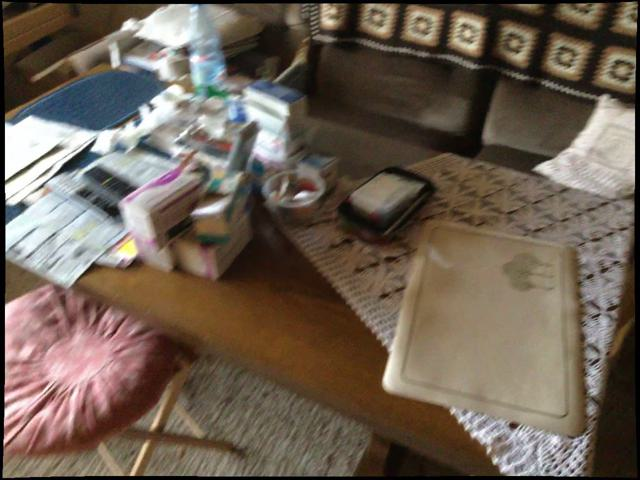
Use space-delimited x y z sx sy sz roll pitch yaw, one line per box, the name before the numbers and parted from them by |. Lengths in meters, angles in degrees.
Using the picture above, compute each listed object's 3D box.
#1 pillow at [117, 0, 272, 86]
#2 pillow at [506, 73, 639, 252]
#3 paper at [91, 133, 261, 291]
pillow | -0.460 -0.801 2.210 0.380 0.180 0.430 19 45 20
pillow | 0.879 -0.250 1.700 0.410 0.230 0.440 -23 47 -24
paper | -0.260 -0.060 1.110 0.220 0.170 0.220 10 43 11
